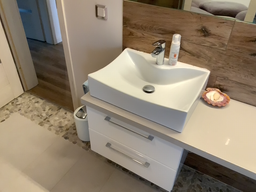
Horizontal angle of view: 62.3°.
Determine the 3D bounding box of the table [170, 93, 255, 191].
[{"bbox_3d":[0.770,0.560,1.160,0.960,0.760,0.460,21,40,22],"label":"table"}]
